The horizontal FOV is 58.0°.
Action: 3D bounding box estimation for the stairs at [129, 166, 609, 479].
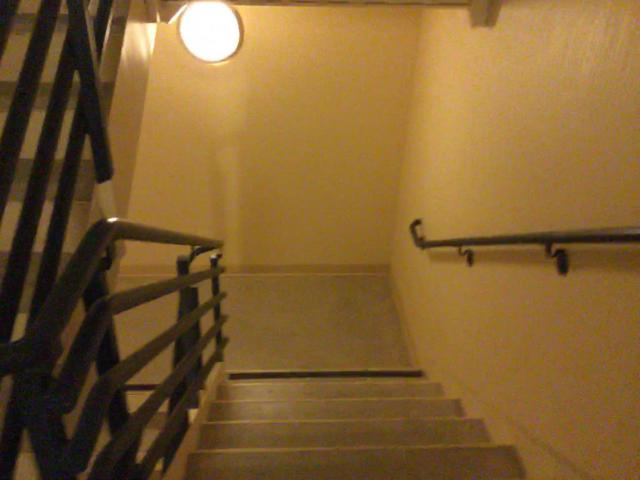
[{"bbox_3d":[0.080,0.830,2.260,1.220,1.320,2.140,0,37,-4],"label":"stairs"}]
